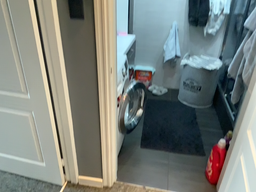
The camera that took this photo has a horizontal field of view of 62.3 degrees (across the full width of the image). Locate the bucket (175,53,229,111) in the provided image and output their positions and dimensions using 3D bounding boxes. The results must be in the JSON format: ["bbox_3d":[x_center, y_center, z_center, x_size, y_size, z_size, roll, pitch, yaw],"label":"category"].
[{"bbox_3d":[0.970,-0.200,2.920,0.530,0.620,0.460,5,29,5],"label":"bucket"}]

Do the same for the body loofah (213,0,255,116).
[{"bbox_3d":[0.900,-0.470,1.590,0.170,1.240,0.360,6,29,7],"label":"body loofah"}]

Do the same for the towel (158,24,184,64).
[{"bbox_3d":[0.580,-0.710,2.910,0.270,0.500,0.170,5,29,5],"label":"towel"}]
